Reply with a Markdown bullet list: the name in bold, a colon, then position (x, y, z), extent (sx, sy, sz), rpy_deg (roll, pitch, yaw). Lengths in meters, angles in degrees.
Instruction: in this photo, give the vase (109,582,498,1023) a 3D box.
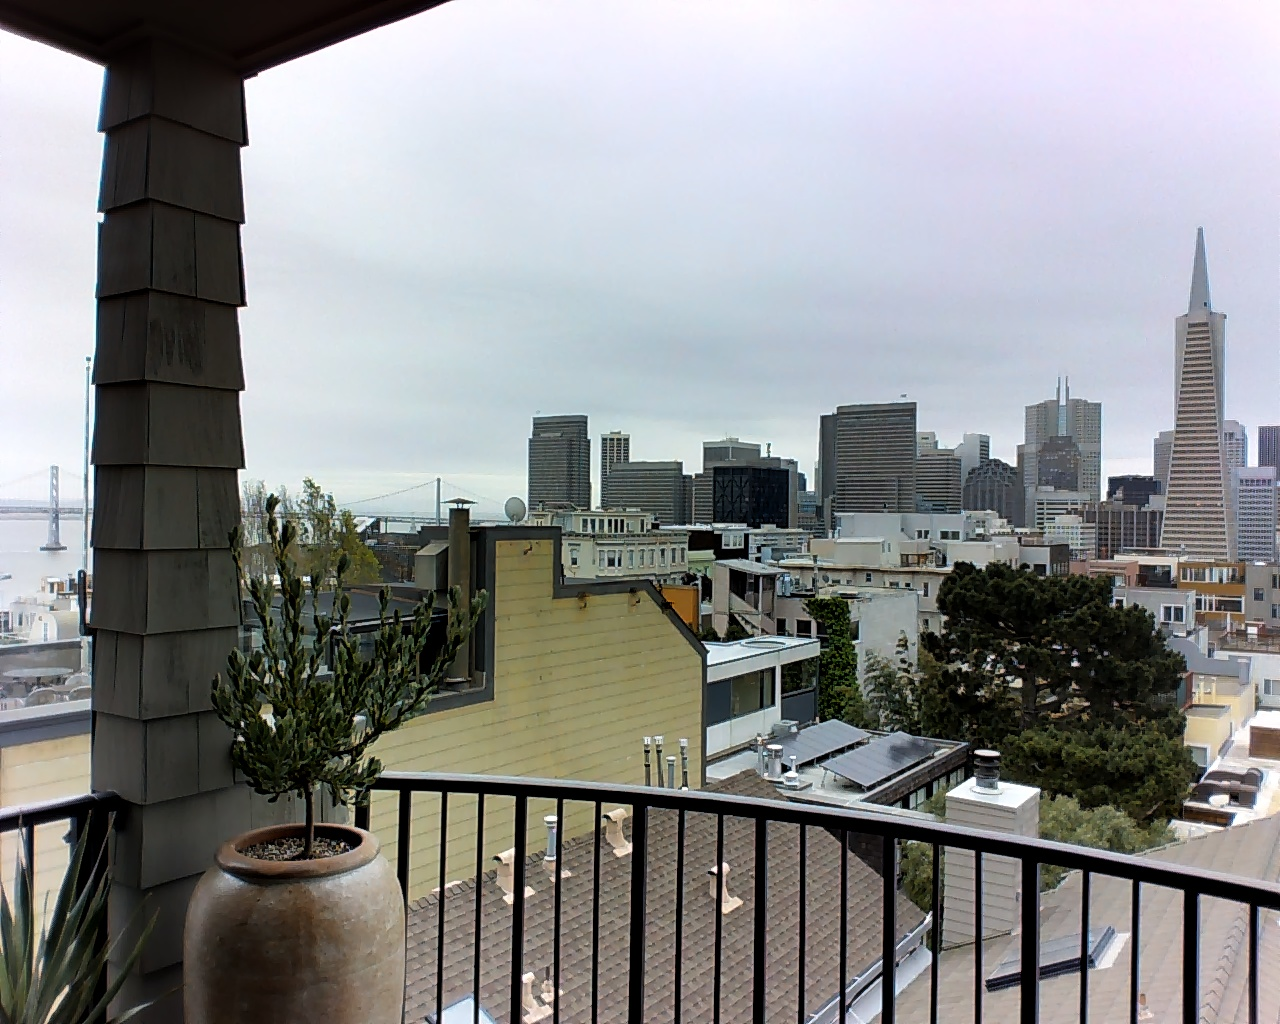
- **vase**: position (-0.760, 0.890, 2.460), extent (0.610, 1.400, 0.590), rpy_deg (1, 0, 34)
